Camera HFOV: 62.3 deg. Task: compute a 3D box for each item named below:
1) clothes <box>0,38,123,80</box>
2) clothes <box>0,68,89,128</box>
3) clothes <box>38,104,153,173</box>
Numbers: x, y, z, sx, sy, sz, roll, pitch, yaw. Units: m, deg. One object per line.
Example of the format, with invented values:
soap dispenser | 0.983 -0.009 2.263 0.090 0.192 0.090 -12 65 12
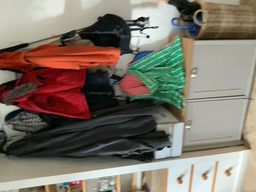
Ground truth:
clothes | -0.510 -0.270 1.480 0.170 0.940 0.250 -128 37 -69
clothes | -0.620 0.000 1.510 0.240 0.650 0.340 -128 37 -69
clothes | -0.240 0.290 1.630 0.410 0.750 0.270 -122 31 -65
